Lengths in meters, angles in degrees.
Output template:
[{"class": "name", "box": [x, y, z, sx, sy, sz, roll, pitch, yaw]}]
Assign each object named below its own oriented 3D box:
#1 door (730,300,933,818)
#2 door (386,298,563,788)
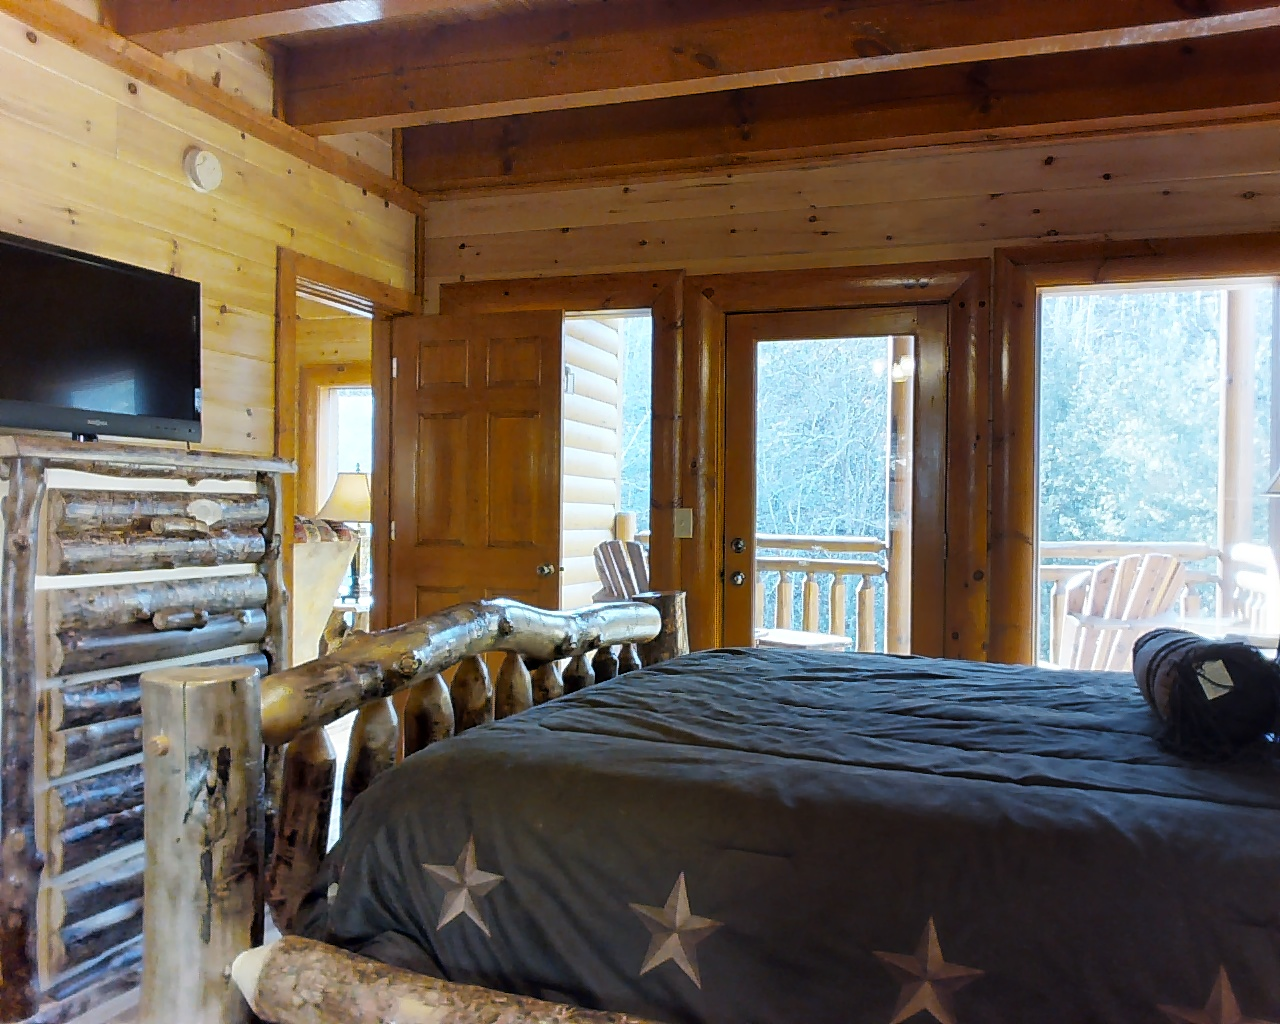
[{"class": "door", "box": [0.780, 0.180, 4.400, 0.780, 2.011, 0.200, 1, 1, 19]}, {"class": "door", "box": [-0.730, 0.130, 4.690, 0.820, 2.061, 0.060, 1, 1, 19]}]
